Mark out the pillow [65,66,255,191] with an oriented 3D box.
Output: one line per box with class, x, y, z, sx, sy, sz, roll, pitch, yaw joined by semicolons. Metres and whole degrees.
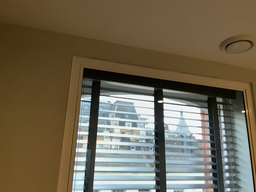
pillow;0.240;0.700;1.110;1.130;1.640;0.090;7;-17;-17
